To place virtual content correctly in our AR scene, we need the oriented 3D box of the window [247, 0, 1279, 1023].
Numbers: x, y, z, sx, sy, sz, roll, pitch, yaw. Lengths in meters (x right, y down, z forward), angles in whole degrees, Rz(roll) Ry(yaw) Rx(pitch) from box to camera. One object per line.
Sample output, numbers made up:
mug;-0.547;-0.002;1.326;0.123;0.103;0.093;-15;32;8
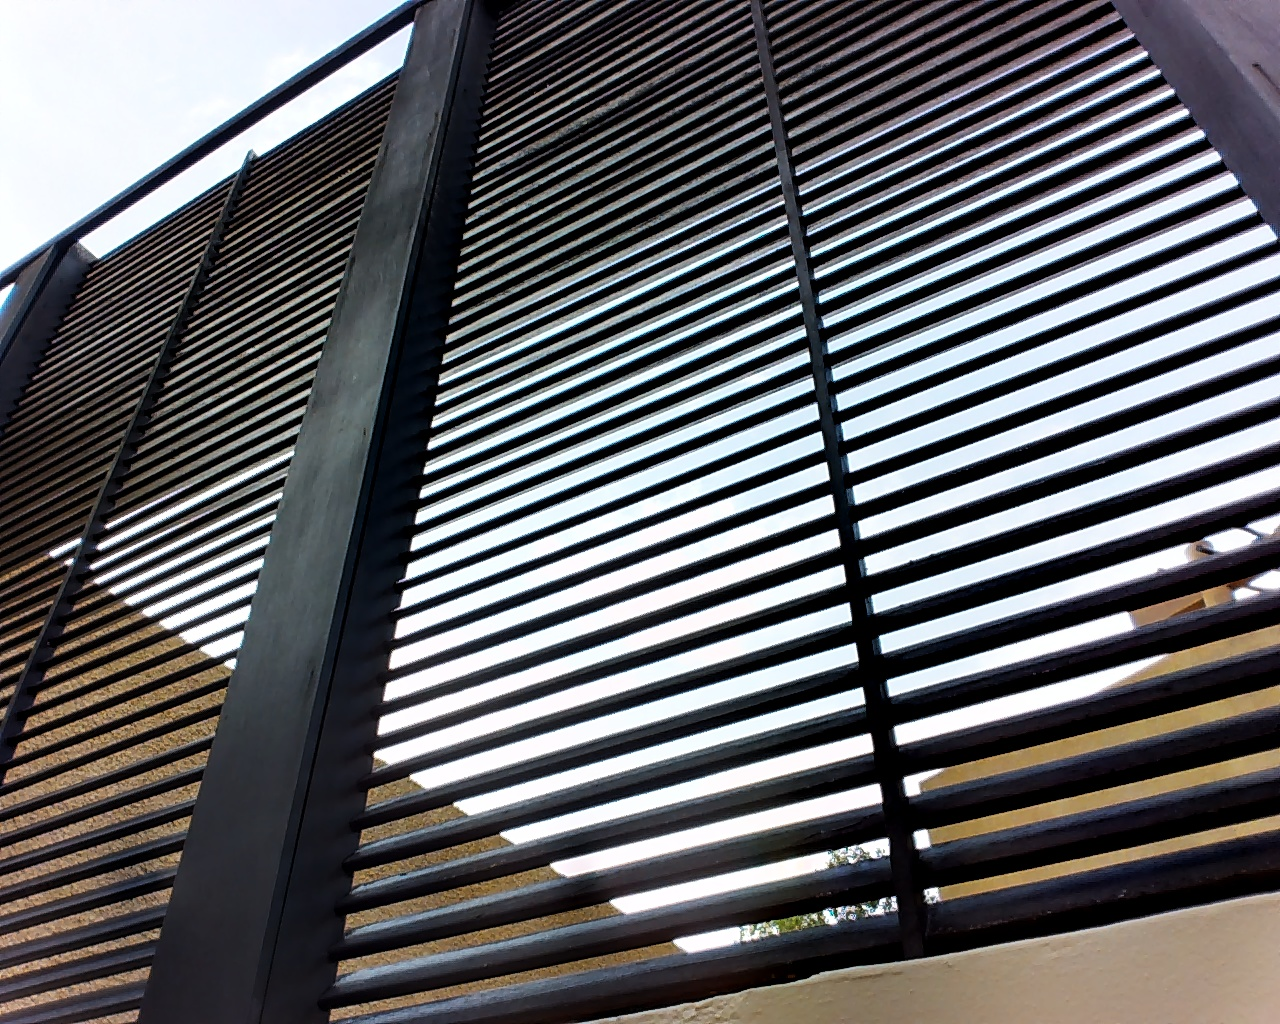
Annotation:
window;0.100;-0.430;1.280;0.880;1.920;0.100;-21;-45;22
